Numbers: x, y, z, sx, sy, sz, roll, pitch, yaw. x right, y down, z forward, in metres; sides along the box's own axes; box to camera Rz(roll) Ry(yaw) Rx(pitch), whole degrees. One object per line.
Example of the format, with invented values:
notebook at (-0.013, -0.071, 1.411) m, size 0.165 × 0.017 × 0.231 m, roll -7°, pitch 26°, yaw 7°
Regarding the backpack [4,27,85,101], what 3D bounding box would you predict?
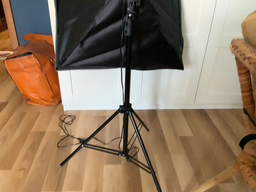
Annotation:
backpack at (-0.630, -0.280, 1.760) m, size 0.450 × 0.450 × 0.480 m, roll 1°, pitch 30°, yaw -3°
